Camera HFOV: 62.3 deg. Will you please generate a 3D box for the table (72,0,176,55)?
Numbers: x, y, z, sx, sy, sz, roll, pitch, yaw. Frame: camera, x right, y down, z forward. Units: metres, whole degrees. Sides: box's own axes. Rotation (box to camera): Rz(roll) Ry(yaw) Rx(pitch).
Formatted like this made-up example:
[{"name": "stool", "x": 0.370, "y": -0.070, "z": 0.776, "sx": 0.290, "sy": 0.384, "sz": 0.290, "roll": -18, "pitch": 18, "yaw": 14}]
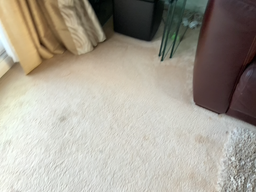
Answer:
[{"name": "table", "x": 0.000, "y": -0.750, "z": 1.470, "sx": 0.570, "sy": 0.550, "sz": 0.540, "roll": 24, "pitch": 58, "yaw": 14}]
